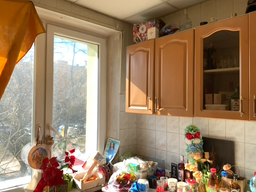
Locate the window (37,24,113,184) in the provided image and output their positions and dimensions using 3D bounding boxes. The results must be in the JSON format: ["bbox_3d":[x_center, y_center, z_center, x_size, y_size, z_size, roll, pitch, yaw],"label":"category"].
[{"bbox_3d":[-0.540,0.080,2.330,0.800,1.530,0.130,2,-2,-40],"label":"window"}]

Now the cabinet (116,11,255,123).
[{"bbox_3d":[0.850,-0.180,1.550,0.320,0.720,2.540,2,-2,-43],"label":"cabinet"}]
